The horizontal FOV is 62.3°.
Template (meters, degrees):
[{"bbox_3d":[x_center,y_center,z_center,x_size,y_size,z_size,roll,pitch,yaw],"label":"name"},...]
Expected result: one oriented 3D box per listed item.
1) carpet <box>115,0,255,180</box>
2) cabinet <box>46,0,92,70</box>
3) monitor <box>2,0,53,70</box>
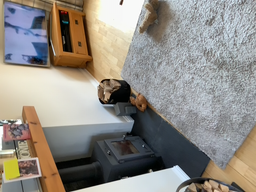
[{"bbox_3d":[0.470,-0.340,1.960,1.690,0.040,1.280,43,122,46],"label":"carpet"},{"bbox_3d":[-1.020,-1.020,3.630,0.360,0.570,1.040,-32,63,49],"label":"cabinet"},{"bbox_3d":[-1.590,-0.960,3.350,0.080,0.680,1.100,-32,63,49],"label":"monitor"}]
